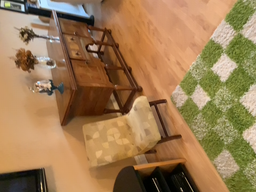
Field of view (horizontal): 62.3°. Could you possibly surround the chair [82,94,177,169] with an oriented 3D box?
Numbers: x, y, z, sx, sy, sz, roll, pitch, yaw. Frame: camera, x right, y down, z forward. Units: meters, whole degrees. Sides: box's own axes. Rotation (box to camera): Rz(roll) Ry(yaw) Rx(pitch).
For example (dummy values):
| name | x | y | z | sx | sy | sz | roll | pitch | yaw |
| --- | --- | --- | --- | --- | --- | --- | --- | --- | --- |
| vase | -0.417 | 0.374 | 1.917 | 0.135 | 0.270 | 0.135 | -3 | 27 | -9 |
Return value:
| name | x | y | z | sx | sy | sz | roll | pitch | yaw |
| --- | --- | --- | --- | --- | --- | --- | --- | --- | --- |
| chair | -0.020 | 0.330 | 1.970 | 0.570 | 0.590 | 0.430 | -51 | 47 | 44 |
